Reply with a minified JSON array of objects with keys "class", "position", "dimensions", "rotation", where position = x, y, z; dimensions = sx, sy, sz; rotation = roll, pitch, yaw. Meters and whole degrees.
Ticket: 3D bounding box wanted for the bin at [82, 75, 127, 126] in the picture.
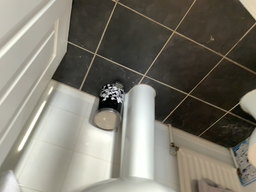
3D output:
[{"class":"bin","position":[-0.150,0.030,1.400],"dimensions":[0.220,0.210,0.180],"rotation":[21,132,-13]}]
